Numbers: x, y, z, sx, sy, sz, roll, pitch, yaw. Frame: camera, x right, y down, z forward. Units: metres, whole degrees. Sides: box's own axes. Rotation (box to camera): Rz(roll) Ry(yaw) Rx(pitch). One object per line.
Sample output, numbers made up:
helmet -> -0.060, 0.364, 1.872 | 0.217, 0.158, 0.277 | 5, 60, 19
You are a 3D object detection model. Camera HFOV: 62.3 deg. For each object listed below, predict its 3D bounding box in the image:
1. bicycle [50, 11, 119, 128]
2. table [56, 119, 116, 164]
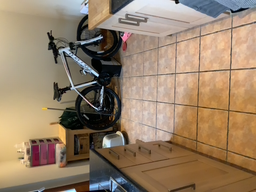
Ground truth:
bicycle -> -0.670, -0.370, 3.300 | 0.310, 0.980, 1.600 | 11, 100, 61
table -> -0.710, 0.710, 3.530 | 0.580, 0.840, 0.520 | 6, 96, 61
